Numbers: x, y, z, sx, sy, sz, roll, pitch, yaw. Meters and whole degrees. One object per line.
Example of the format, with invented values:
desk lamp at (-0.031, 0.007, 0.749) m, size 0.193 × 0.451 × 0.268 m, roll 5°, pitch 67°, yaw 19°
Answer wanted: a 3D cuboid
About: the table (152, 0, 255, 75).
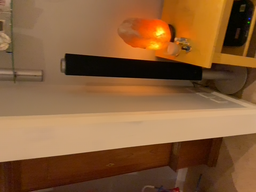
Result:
table at (0.570, -0.450, 1.350) m, size 0.530 × 0.560 × 0.520 m, roll -144°, pitch 58°, yaw -59°
